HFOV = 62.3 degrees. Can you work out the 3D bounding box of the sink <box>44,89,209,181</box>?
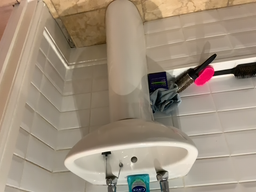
[{"bbox_3d":[0.010,0.170,0.770,0.460,0.160,0.350,-8,147,6],"label":"sink"}]
